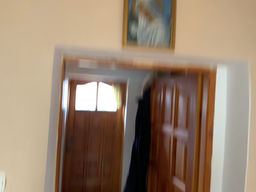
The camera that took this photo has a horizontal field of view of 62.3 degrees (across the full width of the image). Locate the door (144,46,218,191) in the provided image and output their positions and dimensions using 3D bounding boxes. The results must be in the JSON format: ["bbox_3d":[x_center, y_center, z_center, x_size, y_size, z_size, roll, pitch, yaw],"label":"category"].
[{"bbox_3d":[0.310,0.730,1.610,0.070,2.050,0.810,3,0,-16],"label":"door"}]
